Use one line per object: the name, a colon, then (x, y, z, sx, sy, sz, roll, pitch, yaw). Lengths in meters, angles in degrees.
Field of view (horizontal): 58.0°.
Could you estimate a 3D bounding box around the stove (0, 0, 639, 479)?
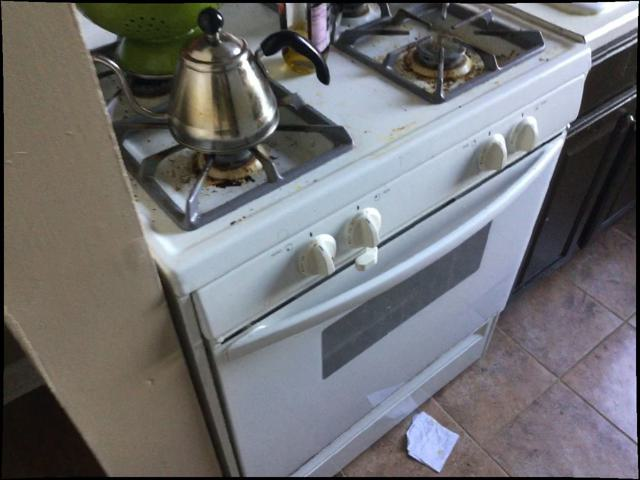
stove: (0.000, -0.110, 1.180, 0.849, 1.161, 0.730, -32, 52, -23)
